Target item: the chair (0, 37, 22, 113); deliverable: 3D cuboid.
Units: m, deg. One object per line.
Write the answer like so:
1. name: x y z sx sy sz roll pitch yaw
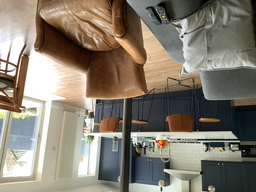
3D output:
1. chair: -1.740 -0.250 2.640 0.510 0.870 0.430 -7 163 31
